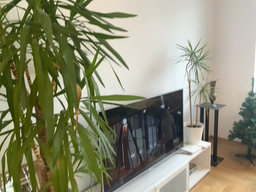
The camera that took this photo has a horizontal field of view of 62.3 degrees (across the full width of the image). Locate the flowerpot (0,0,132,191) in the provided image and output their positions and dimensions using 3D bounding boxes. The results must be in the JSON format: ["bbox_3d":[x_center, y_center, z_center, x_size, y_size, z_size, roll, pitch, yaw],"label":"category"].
[{"bbox_3d":[-0.480,0.160,1.260,0.660,1.550,0.710,8,15,44],"label":"flowerpot"}]

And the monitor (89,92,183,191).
[{"bbox_3d":[0.170,0.410,2.040,0.060,0.710,1.230,11,17,43],"label":"monitor"}]
